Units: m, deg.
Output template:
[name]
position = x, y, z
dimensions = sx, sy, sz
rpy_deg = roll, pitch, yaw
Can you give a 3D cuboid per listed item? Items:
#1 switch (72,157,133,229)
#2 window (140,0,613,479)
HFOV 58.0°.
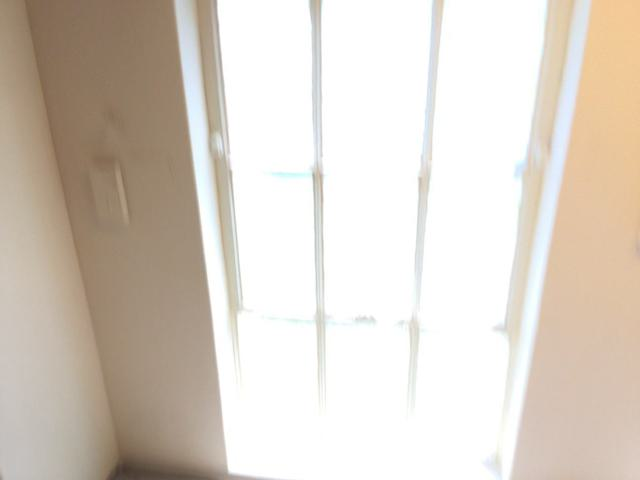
[switch]
position = -0.510, -0.110, 1.360
dimensions = 0.110, 0.170, 0.020
rpy_deg = 2, 23, 10
[window]
position = 0.110, -0.170, 1.290
dimensions = 0.840, 1.870, 0.290
rpy_deg = 2, 23, 10
